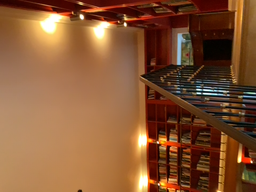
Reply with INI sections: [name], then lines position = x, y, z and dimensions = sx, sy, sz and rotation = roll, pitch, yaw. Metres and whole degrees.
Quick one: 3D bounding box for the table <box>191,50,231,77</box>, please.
[table]
position = 1.880, -0.750, 4.810
dimensions = 0.730, 0.770, 0.510
rotation = -30, -60, -62
